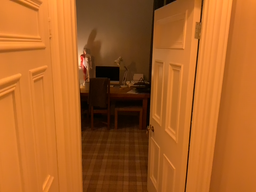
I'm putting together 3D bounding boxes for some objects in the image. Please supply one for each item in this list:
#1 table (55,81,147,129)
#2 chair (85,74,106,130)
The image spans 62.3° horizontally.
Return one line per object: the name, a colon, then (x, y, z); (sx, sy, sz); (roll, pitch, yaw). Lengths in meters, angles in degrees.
table: (-0.500, 0.150, 4.440); (1.700, 0.760, 0.910); (1, 14, 0)
chair: (-0.610, 0.100, 4.130); (0.350, 0.990, 0.460); (0, 14, -4)
